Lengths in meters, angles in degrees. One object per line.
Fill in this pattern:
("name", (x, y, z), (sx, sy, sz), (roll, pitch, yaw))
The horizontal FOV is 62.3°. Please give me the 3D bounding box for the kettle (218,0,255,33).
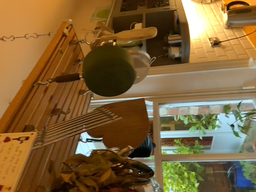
("kettle", (0.870, -0.620, 1.650), (0.150, 0.260, 0.190), (77, -168, -47))
